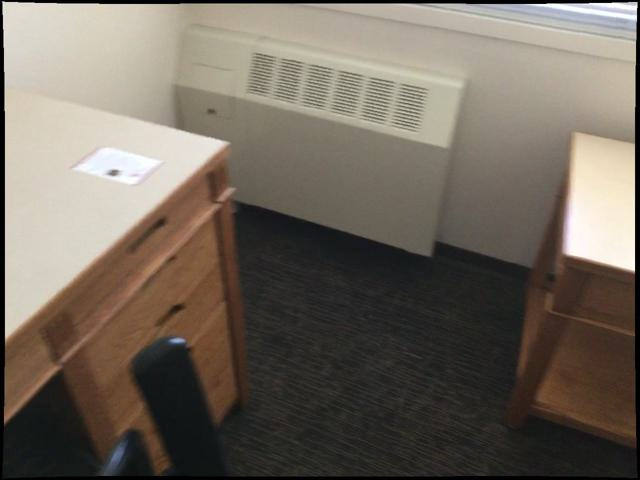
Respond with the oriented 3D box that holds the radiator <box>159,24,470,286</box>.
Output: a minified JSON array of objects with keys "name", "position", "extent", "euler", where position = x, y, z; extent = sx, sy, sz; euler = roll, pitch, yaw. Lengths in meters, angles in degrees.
[{"name":"radiator","position":[-0.040,-0.271,1.840],"extent":[0.888,0.641,0.180],"euler":[16,42,18]}]

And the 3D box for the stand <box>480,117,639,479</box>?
[{"name":"stand","position":[0.798,0.150,1.430],"extent":[0.569,0.591,0.600],"euler":[16,42,18]}]
